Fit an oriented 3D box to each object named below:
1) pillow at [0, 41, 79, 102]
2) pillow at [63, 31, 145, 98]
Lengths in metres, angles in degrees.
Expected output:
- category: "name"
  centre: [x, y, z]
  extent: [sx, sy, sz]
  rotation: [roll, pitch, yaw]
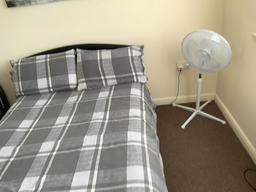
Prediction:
- category: "pillow"
  centre: [-0.900, -0.210, 2.120]
  extent: [0.670, 0.440, 0.110]
  rotation: [-25, 52, 18]
- category: "pillow"
  centre: [-0.230, -0.280, 2.070]
  extent: [0.650, 0.420, 0.180]
  rotation: [-23, 49, 14]
